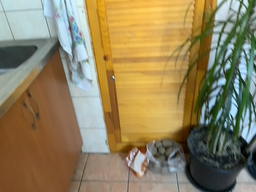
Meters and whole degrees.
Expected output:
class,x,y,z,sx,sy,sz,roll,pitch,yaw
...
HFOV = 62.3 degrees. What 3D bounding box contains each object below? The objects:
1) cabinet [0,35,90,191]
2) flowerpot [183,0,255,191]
class,x,y,z,sx,sy,sz,roll,pitch,yaw
cabinet,-0.630,0.280,1.010,0.600,0.870,0.800,0,35,5
flowerpot,0.510,0.080,1.060,0.330,1.010,0.370,1,35,7
